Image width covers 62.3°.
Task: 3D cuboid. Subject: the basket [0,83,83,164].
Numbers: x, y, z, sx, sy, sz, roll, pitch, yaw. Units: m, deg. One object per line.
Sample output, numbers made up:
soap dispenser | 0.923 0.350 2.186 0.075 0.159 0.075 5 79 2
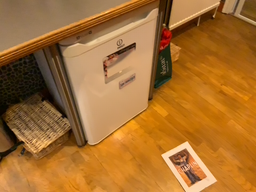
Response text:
basket | -0.590 0.170 1.460 0.450 0.180 0.320 37 59 26
